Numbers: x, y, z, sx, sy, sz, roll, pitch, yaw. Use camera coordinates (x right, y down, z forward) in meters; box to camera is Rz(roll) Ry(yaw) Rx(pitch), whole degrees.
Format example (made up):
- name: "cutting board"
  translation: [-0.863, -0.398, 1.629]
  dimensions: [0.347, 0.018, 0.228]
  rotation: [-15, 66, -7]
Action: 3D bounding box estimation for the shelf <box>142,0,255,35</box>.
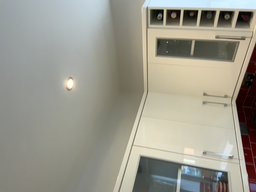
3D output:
- name: "shelf"
  translation: [0.520, -0.600, 1.580]
  dimensions: [0.300, 0.790, 0.120]
  rotation: [-69, -19, -46]
